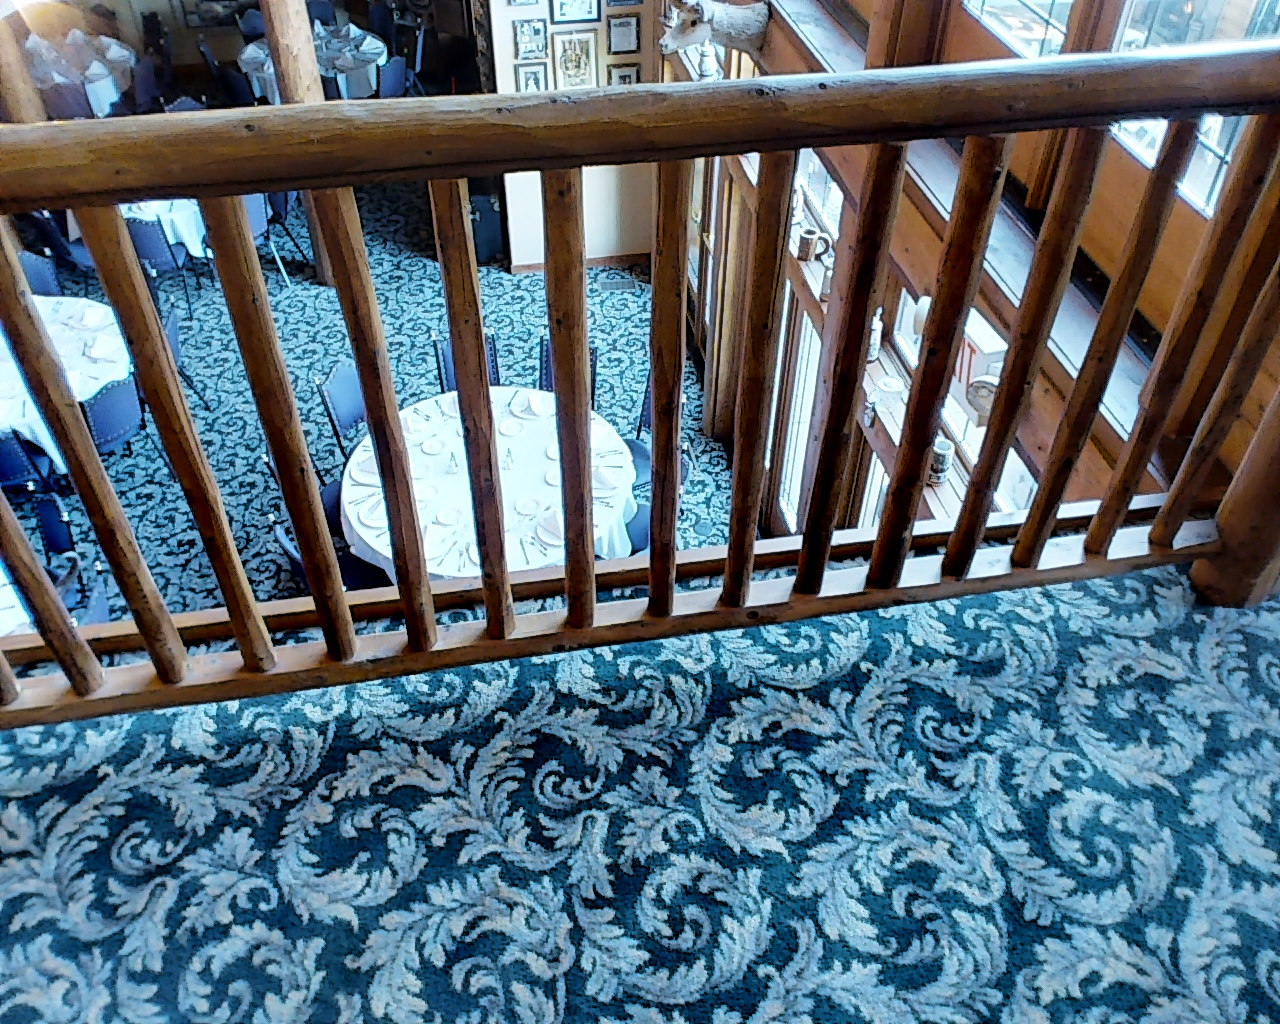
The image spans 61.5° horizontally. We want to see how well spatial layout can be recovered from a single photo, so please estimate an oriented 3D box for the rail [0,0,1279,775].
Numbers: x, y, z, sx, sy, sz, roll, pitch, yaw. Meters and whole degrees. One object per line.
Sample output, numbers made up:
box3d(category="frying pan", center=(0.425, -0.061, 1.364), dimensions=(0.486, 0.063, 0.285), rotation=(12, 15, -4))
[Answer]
box3d(category="rail", center=(0.030, -0.270, 1.560), dimensions=(2.430, 1.340, 0.250), rotation=(-7, 44, -8))
